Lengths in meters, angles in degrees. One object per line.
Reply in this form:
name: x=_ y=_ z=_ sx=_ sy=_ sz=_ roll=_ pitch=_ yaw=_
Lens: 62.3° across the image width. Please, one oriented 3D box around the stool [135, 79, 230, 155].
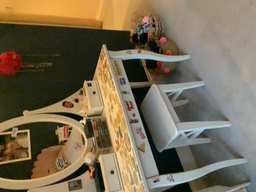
stool: x=0.370 y=0.140 z=1.540 sx=0.330 sy=0.450 sz=0.390 roll=117 pitch=141 yaw=-48
